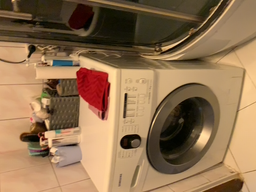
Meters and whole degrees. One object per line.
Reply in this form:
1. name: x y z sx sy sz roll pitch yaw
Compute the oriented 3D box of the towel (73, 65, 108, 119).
1. towel: -0.170 -0.030 0.920 0.240 0.060 0.180 26 115 56
